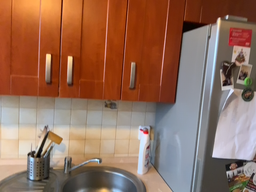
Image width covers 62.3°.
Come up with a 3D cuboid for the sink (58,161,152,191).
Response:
[{"bbox_3d":[-0.140,0.550,1.160,0.460,0.190,0.460,3,7,-14],"label":"sink"}]
